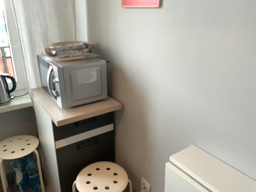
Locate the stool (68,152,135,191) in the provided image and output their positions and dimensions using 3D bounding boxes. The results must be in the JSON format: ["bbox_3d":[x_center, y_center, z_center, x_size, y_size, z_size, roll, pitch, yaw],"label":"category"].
[{"bbox_3d":[-0.170,0.680,1.390,0.310,0.440,0.300,-13,26,-31],"label":"stool"}]

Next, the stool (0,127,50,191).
[{"bbox_3d":[-0.830,0.540,1.660,0.290,0.450,0.300,-13,26,-31],"label":"stool"}]
